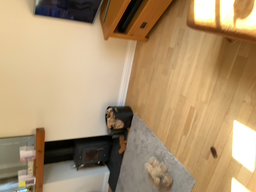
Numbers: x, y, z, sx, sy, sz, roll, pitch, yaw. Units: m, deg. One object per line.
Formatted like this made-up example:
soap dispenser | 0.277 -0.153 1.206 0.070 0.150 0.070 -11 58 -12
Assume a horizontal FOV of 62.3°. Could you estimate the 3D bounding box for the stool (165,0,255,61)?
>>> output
stool | 0.690 -0.610 1.290 0.710 0.450 0.640 42 127 52
